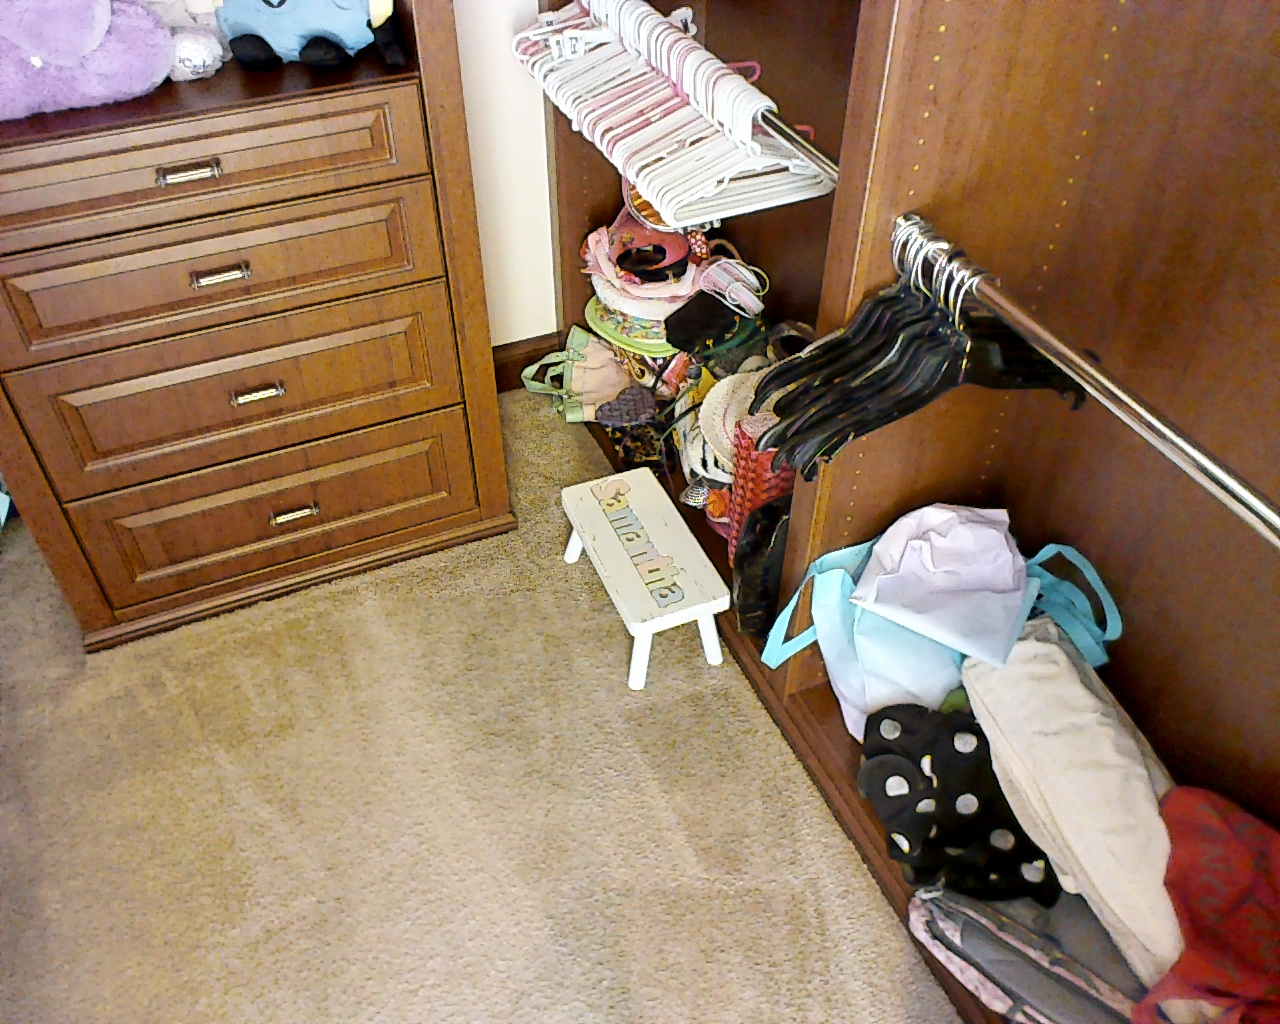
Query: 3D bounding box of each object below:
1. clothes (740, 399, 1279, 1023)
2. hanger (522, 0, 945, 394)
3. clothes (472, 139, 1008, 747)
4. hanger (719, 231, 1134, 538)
[{"bbox_3d":[0.620,0.480,1.430,0.390,0.590,1.250,-17,46,-18],"label":"clothes"},{"bbox_3d":[0.110,-0.670,1.960,0.370,0.440,0.840,-17,46,-18],"label":"hanger"},{"bbox_3d":[0.110,-0.210,2.170,0.530,0.590,1.100,-17,46,-18],"label":"clothes"},{"bbox_3d":[0.350,-0.170,1.360,0.450,0.220,0.190,-17,46,-18],"label":"hanger"}]
